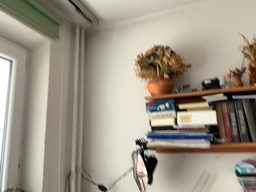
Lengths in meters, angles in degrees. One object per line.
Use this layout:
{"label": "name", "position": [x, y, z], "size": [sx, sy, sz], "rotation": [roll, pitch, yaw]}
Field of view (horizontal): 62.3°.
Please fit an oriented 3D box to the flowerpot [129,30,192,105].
{"label": "flowerpot", "position": [0.200, -0.150, 1.280], "size": [0.320, 0.360, 0.220], "rotation": [-6, -13, 19]}
